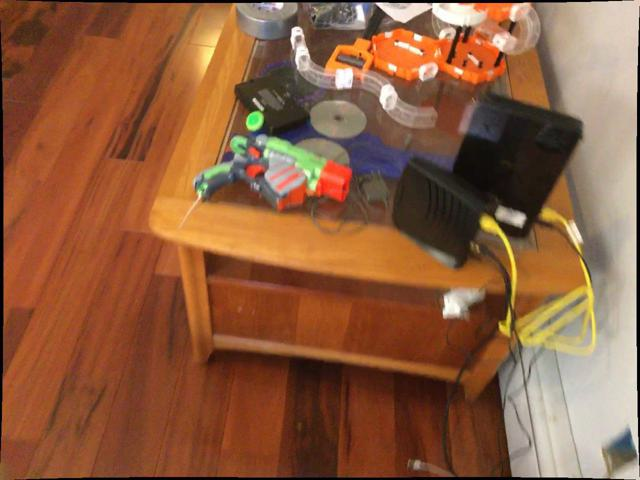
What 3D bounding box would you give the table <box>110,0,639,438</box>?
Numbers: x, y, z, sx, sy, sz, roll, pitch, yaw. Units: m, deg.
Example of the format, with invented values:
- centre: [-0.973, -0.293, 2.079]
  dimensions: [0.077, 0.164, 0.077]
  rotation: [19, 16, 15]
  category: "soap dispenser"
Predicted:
- centre: [0.140, -0.270, 1.500]
  dimensions: [0.849, 0.590, 1.281]
  rotation: [6, 49, 0]
  category: "table"
